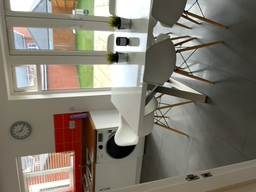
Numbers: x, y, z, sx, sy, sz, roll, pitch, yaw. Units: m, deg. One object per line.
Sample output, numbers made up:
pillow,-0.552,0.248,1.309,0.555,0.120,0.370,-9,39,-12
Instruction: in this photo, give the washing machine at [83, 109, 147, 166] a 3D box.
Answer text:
washing machine,-0.260,0.670,3.660,0.680,0.910,0.580,-134,44,-60

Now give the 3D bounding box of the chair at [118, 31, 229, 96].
chair,0.380,-0.320,1.950,0.480,0.800,0.440,-132,43,-59

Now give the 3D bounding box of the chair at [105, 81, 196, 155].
chair,0.210,0.200,2.480,0.620,0.810,0.580,-135,45,-60

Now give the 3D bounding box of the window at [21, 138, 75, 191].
window,-1.530,1.430,4.160,0.180,0.910,1.170,-134,44,-60
